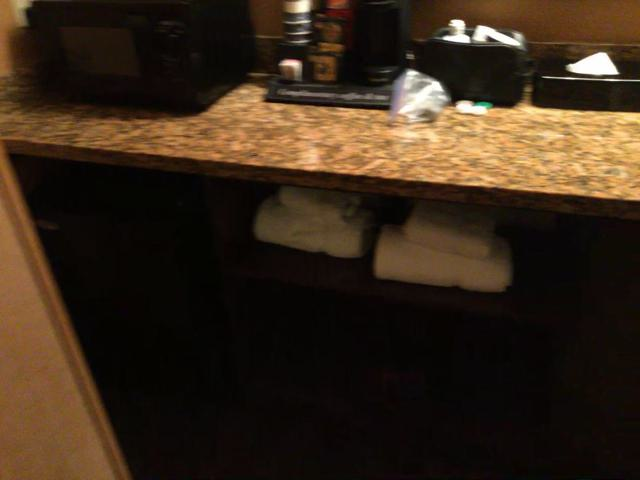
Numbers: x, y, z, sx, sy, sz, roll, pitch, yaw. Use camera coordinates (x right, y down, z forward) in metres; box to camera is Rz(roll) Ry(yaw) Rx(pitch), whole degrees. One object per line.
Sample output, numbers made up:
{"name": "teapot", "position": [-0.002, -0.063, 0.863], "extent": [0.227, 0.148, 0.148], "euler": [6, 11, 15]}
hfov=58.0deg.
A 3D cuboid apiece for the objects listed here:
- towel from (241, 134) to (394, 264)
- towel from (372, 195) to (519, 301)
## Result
{"name": "towel", "position": [0.010, -0.120, 1.490], "extent": [0.280, 0.160, 0.340], "euler": [6, 38, 19]}
{"name": "towel", "position": [0.290, 0.010, 1.320], "extent": [0.290, 0.120, 0.200], "euler": [6, 38, 19]}
